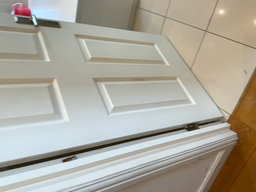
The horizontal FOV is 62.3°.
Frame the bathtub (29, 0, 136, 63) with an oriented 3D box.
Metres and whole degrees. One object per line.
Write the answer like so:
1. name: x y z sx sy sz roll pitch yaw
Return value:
1. bathtub: -0.660 -1.030 2.440 1.690 0.550 0.710 42 126 44
